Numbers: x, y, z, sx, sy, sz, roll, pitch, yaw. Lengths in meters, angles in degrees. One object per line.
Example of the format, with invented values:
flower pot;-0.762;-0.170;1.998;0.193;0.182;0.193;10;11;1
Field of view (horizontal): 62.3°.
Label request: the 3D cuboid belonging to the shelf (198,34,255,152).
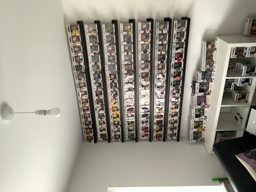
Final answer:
shelf;1.390;0.010;2.650;0.400;0.750;1.440;-89;-3;-62
